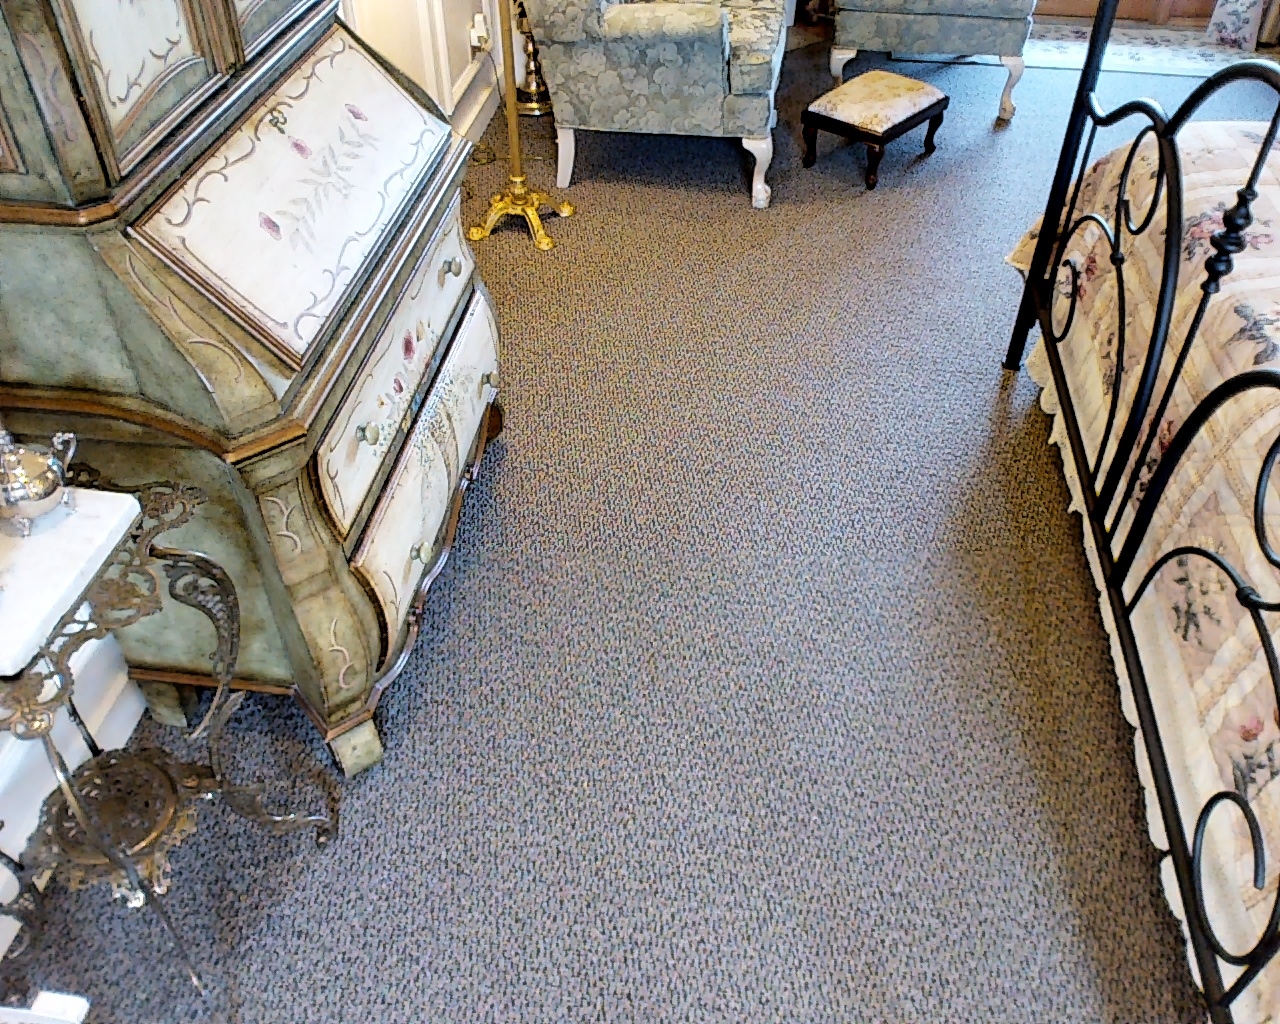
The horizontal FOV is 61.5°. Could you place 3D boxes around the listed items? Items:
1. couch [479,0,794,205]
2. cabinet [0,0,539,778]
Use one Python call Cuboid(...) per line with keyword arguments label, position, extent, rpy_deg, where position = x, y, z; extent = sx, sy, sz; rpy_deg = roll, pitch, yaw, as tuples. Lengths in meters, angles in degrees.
Cuboid(label="couch", position=(0.040, -1.670, 3.410), extent=(0.890, 1.020, 0.870), rpy_deg=(5, 42, 6))
Cuboid(label="cabinet", position=(-0.590, -0.740, 1.530), extent=(0.540, 2.100, 1.130), rpy_deg=(4, 42, 5))
